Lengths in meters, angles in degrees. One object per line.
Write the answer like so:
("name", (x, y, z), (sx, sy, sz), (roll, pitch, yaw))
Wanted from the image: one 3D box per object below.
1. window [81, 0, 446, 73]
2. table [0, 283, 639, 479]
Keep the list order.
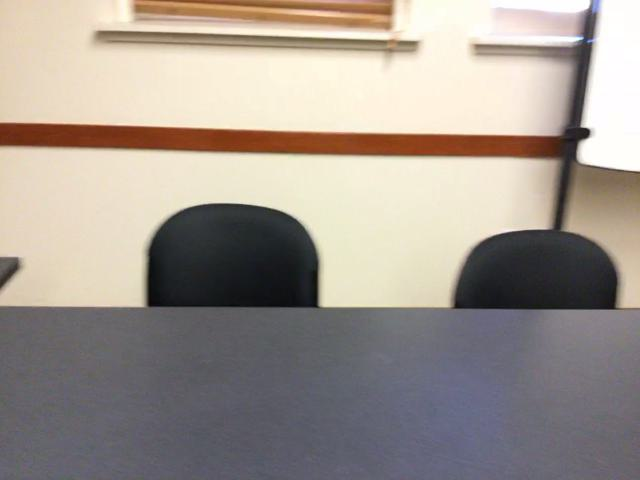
("window", (-0.170, -0.920, 1.890), (1.120, 0.650, 0.350), (2, 22, -1))
("table", (0.220, 0.280, 0.940), (1.790, 0.080, 0.670), (2, 22, -1))
